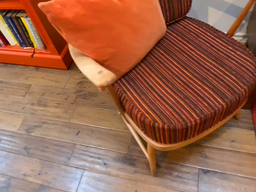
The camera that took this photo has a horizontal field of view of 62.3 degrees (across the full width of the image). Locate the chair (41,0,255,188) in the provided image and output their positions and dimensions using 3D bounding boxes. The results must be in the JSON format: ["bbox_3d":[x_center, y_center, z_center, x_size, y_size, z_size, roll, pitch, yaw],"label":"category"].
[{"bbox_3d":[0.120,-0.250,0.880,0.630,0.940,0.760,-32,56,-14],"label":"chair"}]
